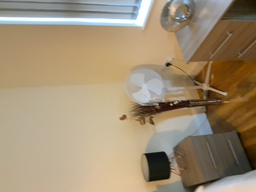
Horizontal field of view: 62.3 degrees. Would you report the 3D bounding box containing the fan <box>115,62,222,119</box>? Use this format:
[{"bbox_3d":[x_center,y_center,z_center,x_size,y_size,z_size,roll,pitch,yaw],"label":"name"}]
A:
[{"bbox_3d":[0.410,-0.060,2.350,0.430,1.010,0.430,115,148,-61],"label":"fan"}]

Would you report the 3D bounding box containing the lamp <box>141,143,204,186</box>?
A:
[{"bbox_3d":[0.400,0.650,2.000,0.300,0.440,0.280,113,149,-60],"label":"lamp"}]
